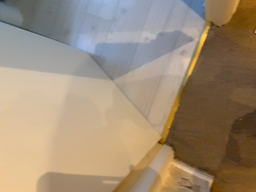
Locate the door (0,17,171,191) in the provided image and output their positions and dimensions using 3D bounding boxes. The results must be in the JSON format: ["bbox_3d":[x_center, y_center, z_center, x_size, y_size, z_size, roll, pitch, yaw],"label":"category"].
[{"bbox_3d":[-0.330,0.030,0.320,0.050,1.970,0.720,-44,78,15],"label":"door"}]
